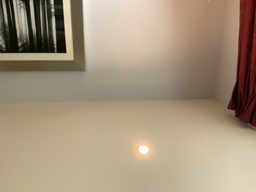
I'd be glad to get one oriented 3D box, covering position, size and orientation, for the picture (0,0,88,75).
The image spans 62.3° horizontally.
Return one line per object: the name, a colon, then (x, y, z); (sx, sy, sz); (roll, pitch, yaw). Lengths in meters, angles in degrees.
picture: (-1.110, -0.550, 1.530); (1.580, 0.800, 0.050); (-1, -160, -8)
